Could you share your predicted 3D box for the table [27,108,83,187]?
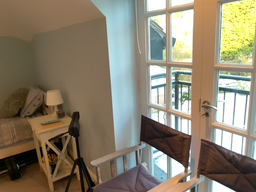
[{"bbox_3d":[-0.840,0.560,2.450,0.410,0.680,0.440,-14,18,-35],"label":"table"}]
